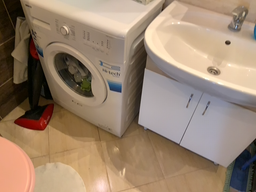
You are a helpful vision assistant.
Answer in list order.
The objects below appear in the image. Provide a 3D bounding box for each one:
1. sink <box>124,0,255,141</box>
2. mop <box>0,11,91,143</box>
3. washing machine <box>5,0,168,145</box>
[{"bbox_3d":[0.380,-0.150,0.900,0.640,0.210,0.460,25,54,17],"label":"sink"},{"bbox_3d":[-0.580,-0.130,1.410,0.270,0.550,0.650,25,54,17],"label":"mop"},{"bbox_3d":[-0.200,-0.220,1.330,0.630,0.850,0.460,25,54,17],"label":"washing machine"}]
